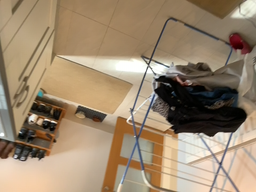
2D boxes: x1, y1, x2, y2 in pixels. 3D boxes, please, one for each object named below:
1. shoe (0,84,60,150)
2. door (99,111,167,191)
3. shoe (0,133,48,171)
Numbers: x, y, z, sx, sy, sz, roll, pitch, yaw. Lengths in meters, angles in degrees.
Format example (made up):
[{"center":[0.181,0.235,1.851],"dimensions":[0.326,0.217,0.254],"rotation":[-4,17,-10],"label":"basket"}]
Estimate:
[{"center":[-1.340,0.270,2.720],"dimensions":[0.730,0.600,0.250],"rotation":[19,146,-14],"label":"shoe"},{"center":[0.050,1.230,2.620],"dimensions":[0.810,2.070,0.130],"rotation":[18,146,-12],"label":"door"},{"center":[-1.370,0.640,2.480],"dimensions":[0.750,0.250,0.250],"rotation":[21,145,-16],"label":"shoe"}]
